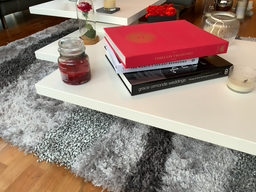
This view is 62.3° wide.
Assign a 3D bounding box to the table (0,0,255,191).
[{"bbox_3d":[-0.090,-0.280,1.160,0.820,0.280,1.620,-11,36,-14],"label":"table"}]

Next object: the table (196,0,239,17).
[{"bbox_3d":[0.980,-1.110,2.230,0.380,0.420,0.380,15,37,21],"label":"table"}]
